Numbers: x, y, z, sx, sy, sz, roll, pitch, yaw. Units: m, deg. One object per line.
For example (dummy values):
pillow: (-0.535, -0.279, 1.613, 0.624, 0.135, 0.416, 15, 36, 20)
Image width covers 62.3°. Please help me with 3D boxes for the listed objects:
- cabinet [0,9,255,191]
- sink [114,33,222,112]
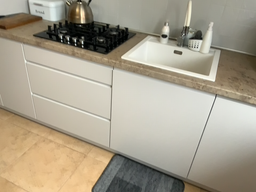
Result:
cabinet: (0.050, -0.010, 1.740, 2.310, 0.860, 0.640, 18, 35, 17)
sink: (0.300, -0.210, 1.480, 0.590, 0.200, 0.570, 18, 35, 17)
